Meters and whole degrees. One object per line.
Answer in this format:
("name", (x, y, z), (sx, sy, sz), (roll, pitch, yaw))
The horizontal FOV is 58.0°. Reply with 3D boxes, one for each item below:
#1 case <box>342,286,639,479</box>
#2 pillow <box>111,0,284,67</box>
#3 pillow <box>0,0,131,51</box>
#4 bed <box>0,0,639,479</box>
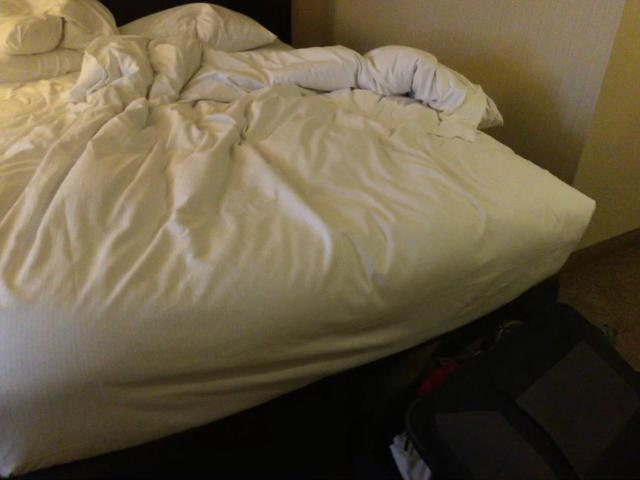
("case", (0.500, 0.500, 1.310), (0.740, 0.420, 0.490), (-15, 34, -27))
("pillow", (-0.530, -0.930, 2.530), (0.630, 0.190, 0.400), (-15, 34, -27))
("pillow", (-1.080, -0.870, 2.240), (0.570, 0.160, 0.380), (-15, 34, -27))
("bed", (-0.400, -0.480, 1.850), (1.780, 1.520, 2.200), (-15, 34, -27))
